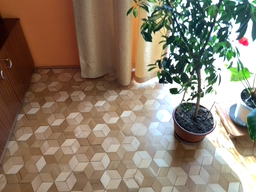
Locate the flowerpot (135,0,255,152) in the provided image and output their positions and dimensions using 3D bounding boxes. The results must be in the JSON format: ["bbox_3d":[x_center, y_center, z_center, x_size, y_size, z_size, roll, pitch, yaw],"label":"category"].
[{"bbox_3d":[0.410,-0.330,1.180,0.560,1.620,0.440,-6,47,-8],"label":"flowerpot"}]

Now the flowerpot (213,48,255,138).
[{"bbox_3d":[0.910,-0.020,1.530,0.250,0.600,0.290,-18,50,-19],"label":"flowerpot"}]
